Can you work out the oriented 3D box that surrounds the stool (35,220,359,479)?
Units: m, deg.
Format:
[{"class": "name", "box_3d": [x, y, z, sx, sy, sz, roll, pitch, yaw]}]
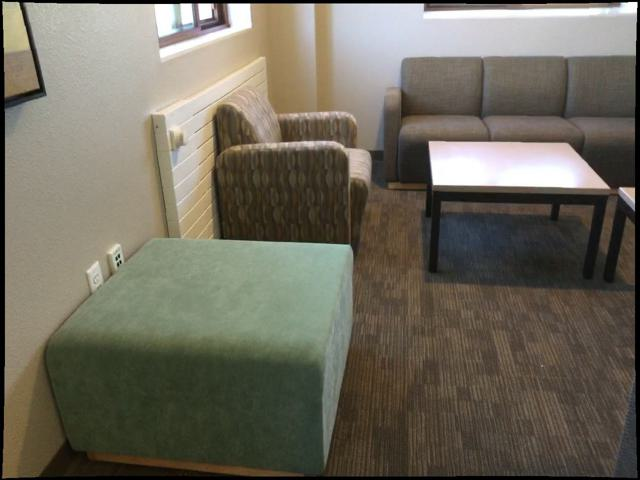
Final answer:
[{"class": "stool", "box_3d": [-0.299, 0.321, 1.950, 0.818, 0.441, 0.860, 3, 25, 5]}]
